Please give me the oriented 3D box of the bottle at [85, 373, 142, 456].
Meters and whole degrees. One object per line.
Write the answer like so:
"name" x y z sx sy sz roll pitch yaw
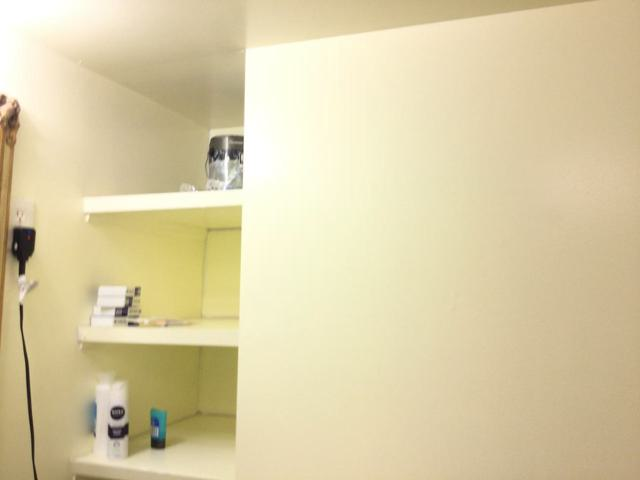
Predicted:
"bottle" -0.560 0.470 1.570 0.120 0.200 0.060 0 -6 18
